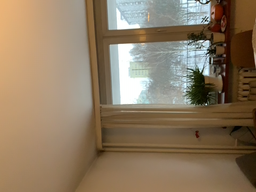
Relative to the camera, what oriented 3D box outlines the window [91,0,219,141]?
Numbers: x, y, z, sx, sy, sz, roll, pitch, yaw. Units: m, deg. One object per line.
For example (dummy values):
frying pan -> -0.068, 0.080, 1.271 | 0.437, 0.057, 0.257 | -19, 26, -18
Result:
window -> 0.360, -0.560, 2.980 | 0.210, 1.670, 2.370 | -46, -45, -79
